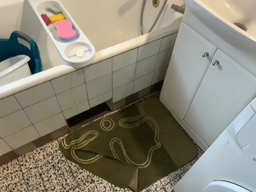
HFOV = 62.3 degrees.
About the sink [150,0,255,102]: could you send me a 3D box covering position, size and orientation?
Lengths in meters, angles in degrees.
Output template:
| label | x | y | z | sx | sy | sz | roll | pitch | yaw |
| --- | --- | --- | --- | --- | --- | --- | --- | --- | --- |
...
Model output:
| label | x | y | z | sx | sy | sz | roll | pitch | yaw |
| --- | --- | --- | --- | --- | --- | --- | --- | --- | --- |
| sink | 0.430 | -0.310 | 0.840 | 0.420 | 0.140 | 0.570 | -25 | 61 | -20 |
